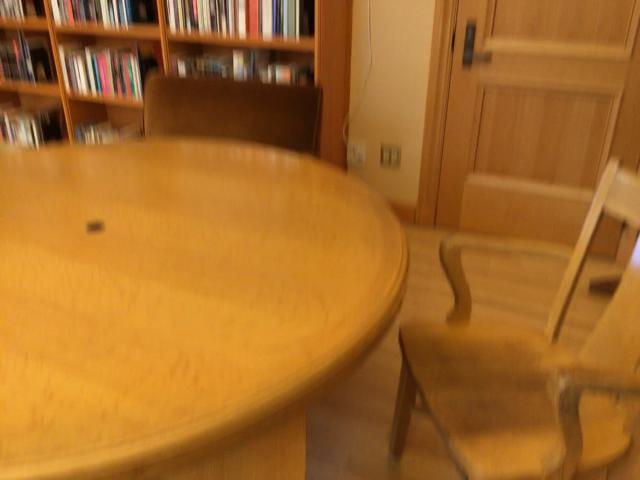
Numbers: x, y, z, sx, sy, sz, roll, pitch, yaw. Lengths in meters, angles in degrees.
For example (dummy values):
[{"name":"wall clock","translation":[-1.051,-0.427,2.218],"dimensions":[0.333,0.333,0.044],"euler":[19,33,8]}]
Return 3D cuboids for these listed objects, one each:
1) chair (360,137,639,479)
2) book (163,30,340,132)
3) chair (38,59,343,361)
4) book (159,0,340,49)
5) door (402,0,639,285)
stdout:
[{"name":"chair","translation":[0.500,0.320,1.380],"dimensions":[0.700,0.920,0.700],"euler":[3,26,-1]},{"name":"book","translation":[-0.360,-0.840,2.990],"dimensions":[0.860,0.360,0.300],"euler":[15,28,22]},{"name":"chair","translation":[-0.430,-0.180,2.300],"dimensions":[0.830,0.860,0.770],"euler":[10,27,13]},{"name":"book","translation":[-0.350,-1.140,2.830],"dimensions":[0.840,0.270,0.310],"euler":[15,28,22]},{"name":"door","translation":[1.100,-1.080,2.310],"dimensions":[1.270,2.550,0.120],"euler":[15,28,22]}]
